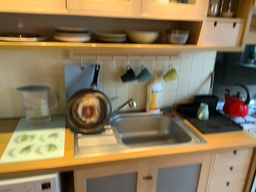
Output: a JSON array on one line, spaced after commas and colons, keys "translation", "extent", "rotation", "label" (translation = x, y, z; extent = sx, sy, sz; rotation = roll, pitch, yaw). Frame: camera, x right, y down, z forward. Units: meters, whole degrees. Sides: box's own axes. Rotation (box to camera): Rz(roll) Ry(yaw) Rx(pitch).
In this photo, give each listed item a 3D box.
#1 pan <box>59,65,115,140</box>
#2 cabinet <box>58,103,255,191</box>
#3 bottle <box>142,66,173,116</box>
[{"translation": [-0.270, 0.020, 1.380], "extent": [0.300, 0.380, 0.330], "rotation": [-3, 20, -15], "label": "pan"}, {"translation": [0.160, 0.590, 1.570], "extent": [1.220, 0.850, 0.600], "rotation": [-3, 20, -16], "label": "cabinet"}, {"translation": [0.220, -0.040, 1.630], "extent": [0.180, 0.360, 0.120], "rotation": [-1, 20, -11], "label": "bottle"}]
